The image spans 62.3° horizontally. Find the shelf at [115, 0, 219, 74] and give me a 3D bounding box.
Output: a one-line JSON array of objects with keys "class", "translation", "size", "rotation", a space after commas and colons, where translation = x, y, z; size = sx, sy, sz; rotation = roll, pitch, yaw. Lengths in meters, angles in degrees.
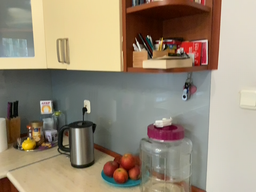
[{"class": "shelf", "translation": [0.160, -0.460, 0.840], "size": [0.280, 0.720, 0.320], "rotation": [9, 13, 44]}]

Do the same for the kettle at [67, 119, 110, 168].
[{"class": "kettle", "translation": [-0.250, 0.290, 1.350], "size": [0.190, 0.220, 0.180], "rotation": [-9, 13, -43]}]
